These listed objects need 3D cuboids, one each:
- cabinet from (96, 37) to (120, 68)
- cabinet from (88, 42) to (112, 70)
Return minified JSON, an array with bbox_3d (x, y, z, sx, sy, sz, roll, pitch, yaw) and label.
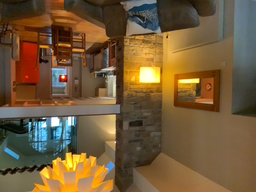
[{"bbox_3d":[-0.750,-1.570,7.820,0.620,0.960,0.990,-1,-177,-22],"label":"cabinet"},{"bbox_3d":[-1.230,-1.630,9.020,0.610,0.960,1.610,-1,-177,-22],"label":"cabinet"}]
